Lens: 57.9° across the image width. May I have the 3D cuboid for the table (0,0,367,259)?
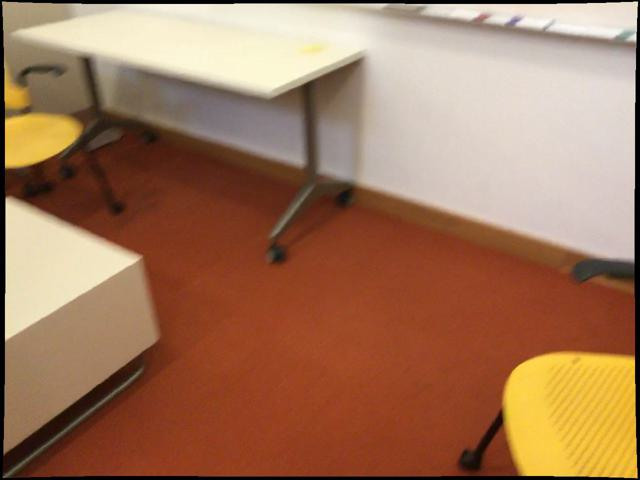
[{"bbox_3d":[-0.649,-0.621,2.700,1.589,0.710,0.650,21,39,28],"label":"table"}]

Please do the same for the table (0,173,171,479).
[{"bbox_3d":[-0.959,0.220,1.620,0.710,0.400,0.710,21,39,28],"label":"table"}]

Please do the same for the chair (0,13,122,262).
[{"bbox_3d":[-1.329,-0.460,2.360,0.720,0.741,0.530,21,39,28],"label":"chair"}]
